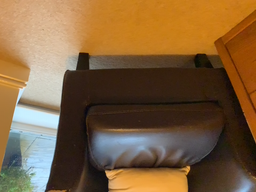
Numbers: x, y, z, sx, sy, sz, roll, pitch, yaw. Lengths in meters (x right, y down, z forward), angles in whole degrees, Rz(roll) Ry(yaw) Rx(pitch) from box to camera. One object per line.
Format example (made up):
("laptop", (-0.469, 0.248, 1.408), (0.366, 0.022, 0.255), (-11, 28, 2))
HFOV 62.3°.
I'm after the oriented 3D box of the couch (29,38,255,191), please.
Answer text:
("couch", (0.060, 0.220, 0.970), (0.730, 0.680, 0.640), (-1, 146, -8))
